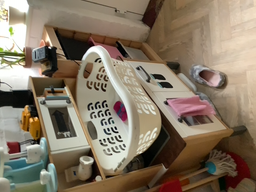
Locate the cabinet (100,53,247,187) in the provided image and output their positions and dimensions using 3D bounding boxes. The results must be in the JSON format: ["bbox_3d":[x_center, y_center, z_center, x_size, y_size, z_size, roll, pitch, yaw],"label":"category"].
[{"bbox_3d":[0.240,0.100,1.380,0.710,0.540,0.370,57,134,38],"label":"cabinet"}]

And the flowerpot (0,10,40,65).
[{"bbox_3d":[-0.870,-0.400,1.400,0.240,0.470,0.260,57,134,38],"label":"flowerpot"}]
